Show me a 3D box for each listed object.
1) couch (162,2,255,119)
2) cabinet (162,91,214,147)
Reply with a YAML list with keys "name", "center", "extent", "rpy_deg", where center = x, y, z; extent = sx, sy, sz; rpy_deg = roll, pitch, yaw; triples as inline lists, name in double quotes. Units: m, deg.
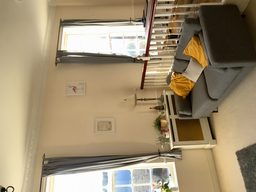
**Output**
- name: "couch"
  center: [1.150, -0.400, 3.350]
  extent: [1.810, 0.820, 0.940]
  rpy_deg: [94, 174, -64]
- name: "cabinet"
  center: [1.180, 0.450, 4.290]
  extent: [0.290, 0.800, 1.070]
  rpy_deg: [94, 173, -65]
